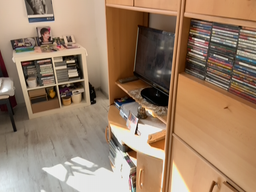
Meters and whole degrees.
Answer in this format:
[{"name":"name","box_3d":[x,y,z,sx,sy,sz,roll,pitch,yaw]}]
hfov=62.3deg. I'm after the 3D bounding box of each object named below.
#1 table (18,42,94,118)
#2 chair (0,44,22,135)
[{"name":"table","box_3d":[-0.930,-0.240,2.820,0.790,0.770,0.460,-13,29,-24]},{"name":"chair","box_3d":[-1.500,-0.070,2.360,0.370,0.870,0.530,-13,29,-24]}]
